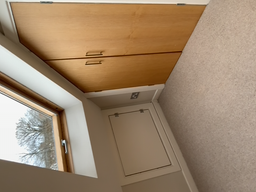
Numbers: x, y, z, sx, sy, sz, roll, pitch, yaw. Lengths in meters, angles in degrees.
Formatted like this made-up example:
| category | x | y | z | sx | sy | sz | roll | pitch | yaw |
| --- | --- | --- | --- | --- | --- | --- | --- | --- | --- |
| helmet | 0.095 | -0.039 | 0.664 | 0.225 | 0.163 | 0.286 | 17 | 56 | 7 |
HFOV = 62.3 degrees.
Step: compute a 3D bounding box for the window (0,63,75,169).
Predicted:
| category | x | y | z | sx | sy | sz | roll | pitch | yaw |
| --- | --- | --- | --- | --- | --- | --- | --- | --- | --- |
| window | -0.810 | 0.110 | 1.450 | 0.100 | 1.310 | 0.680 | -24 | 63 | 8 |
